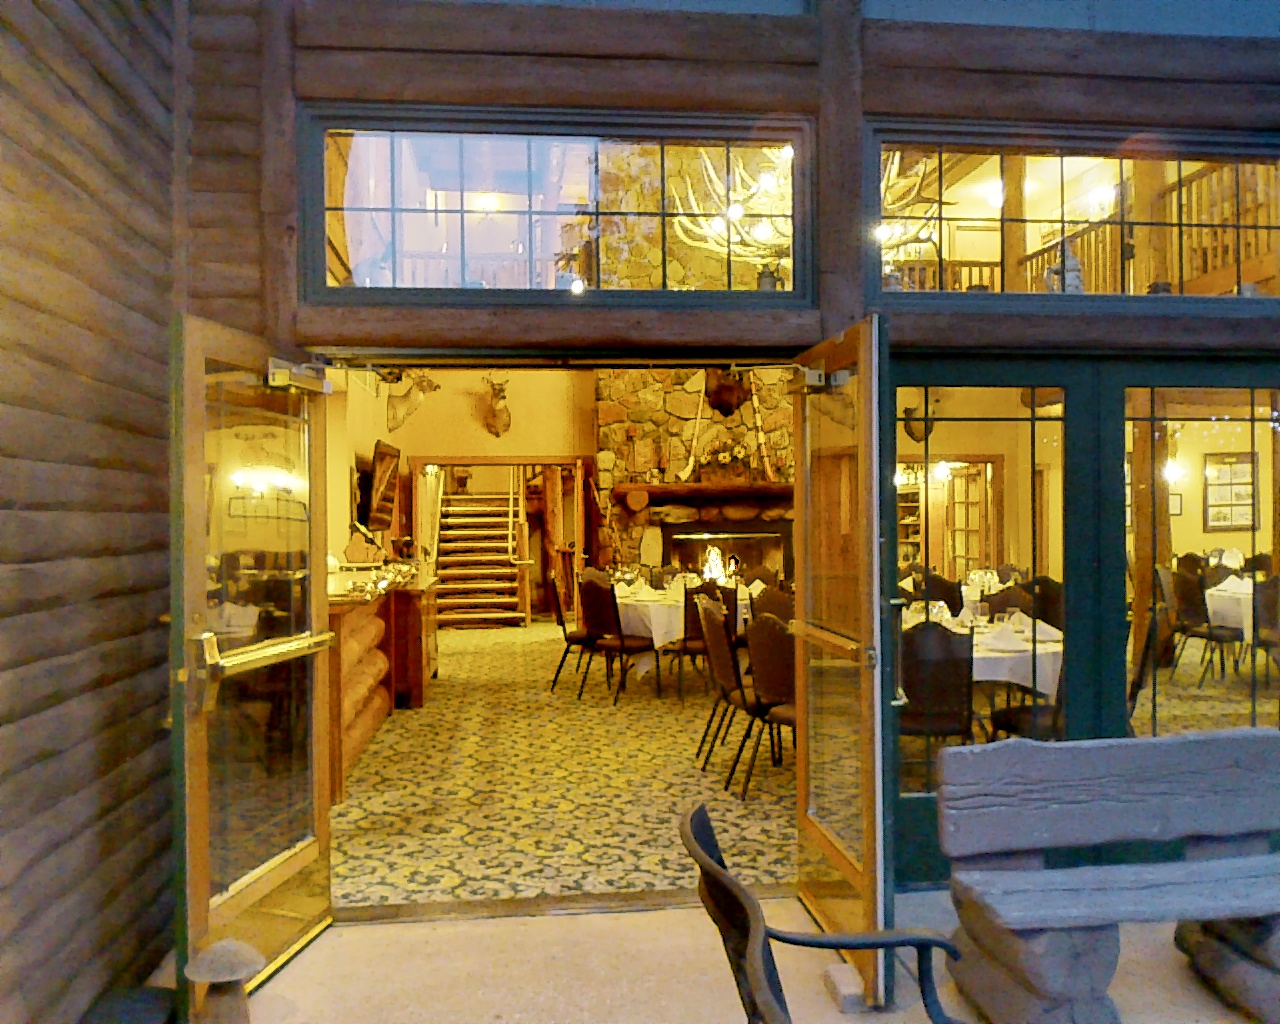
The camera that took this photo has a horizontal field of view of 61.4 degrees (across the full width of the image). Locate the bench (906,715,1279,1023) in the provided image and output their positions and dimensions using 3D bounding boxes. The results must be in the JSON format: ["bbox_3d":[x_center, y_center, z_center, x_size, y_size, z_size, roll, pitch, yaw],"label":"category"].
[{"bbox_3d":[1.510,1.080,3.190,1.280,0.810,0.570,0,0,-7],"label":"bench"}]
